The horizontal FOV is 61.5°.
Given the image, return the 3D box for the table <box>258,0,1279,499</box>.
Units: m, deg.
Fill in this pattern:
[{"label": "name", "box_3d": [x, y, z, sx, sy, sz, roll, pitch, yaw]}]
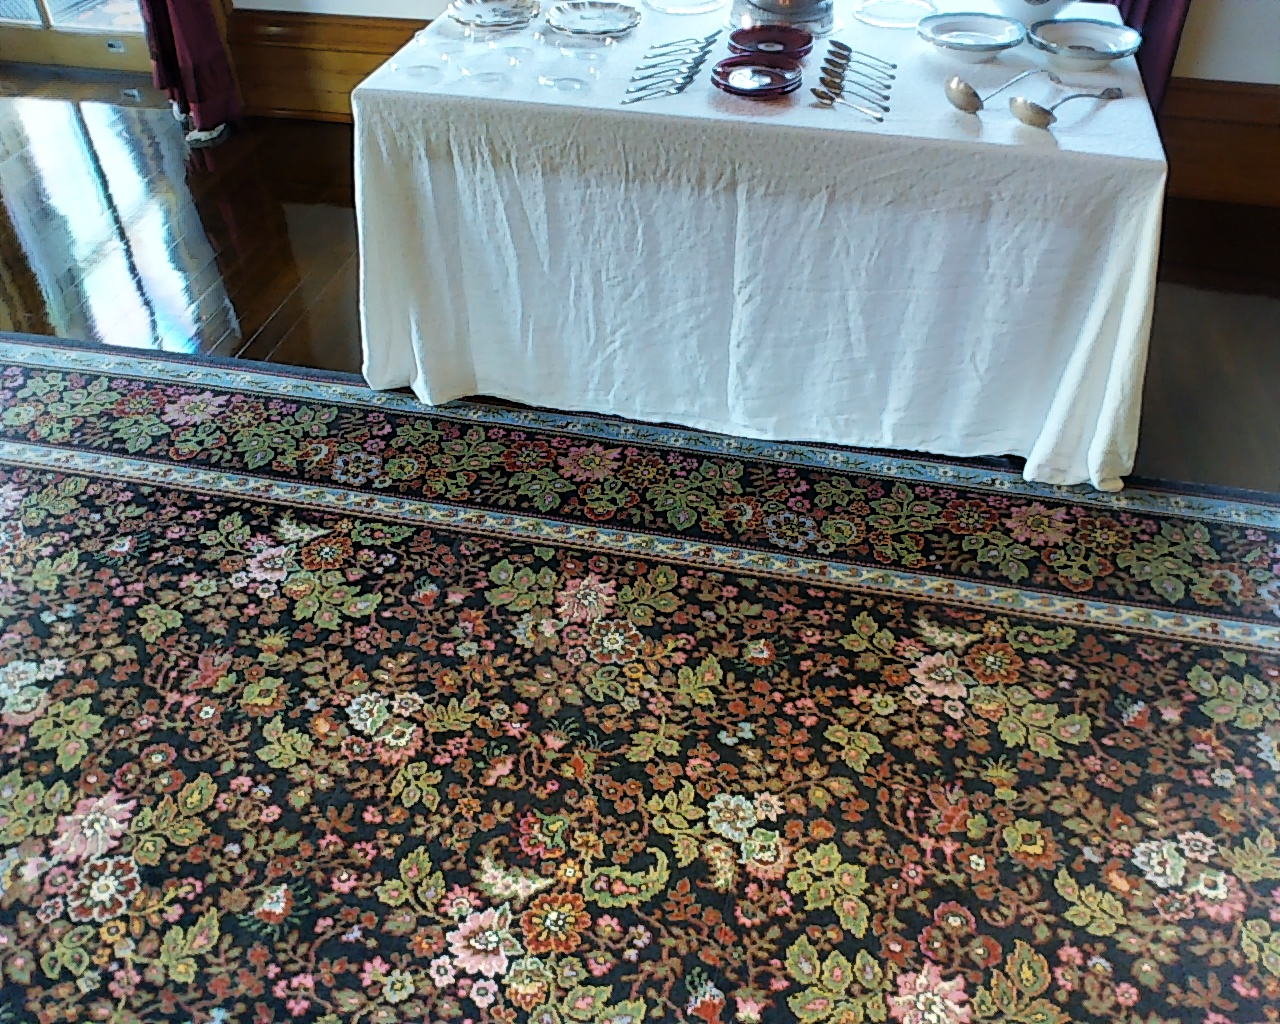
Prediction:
[{"label": "table", "box_3d": [0.300, -0.840, 2.700, 1.930, 0.790, 1.180, 8, 43, 8]}]
